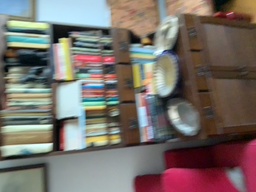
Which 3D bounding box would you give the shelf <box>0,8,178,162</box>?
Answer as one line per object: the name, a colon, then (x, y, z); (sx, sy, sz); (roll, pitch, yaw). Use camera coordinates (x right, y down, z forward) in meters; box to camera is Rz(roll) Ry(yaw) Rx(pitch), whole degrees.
shelf: (-0.260, -0.050, 1.360); (0.360, 0.990, 0.790); (144, 122, -67)
